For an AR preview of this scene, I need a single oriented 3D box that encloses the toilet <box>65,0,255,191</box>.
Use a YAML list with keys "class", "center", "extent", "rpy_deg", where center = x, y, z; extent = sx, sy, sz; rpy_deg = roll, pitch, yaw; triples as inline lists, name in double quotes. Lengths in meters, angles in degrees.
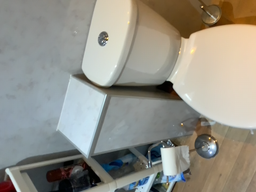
- class: "toilet"
  center: [0.320, -0.100, 0.870]
  extent: [0.650, 0.830, 0.400]
  rpy_deg: [28, 105, 38]
